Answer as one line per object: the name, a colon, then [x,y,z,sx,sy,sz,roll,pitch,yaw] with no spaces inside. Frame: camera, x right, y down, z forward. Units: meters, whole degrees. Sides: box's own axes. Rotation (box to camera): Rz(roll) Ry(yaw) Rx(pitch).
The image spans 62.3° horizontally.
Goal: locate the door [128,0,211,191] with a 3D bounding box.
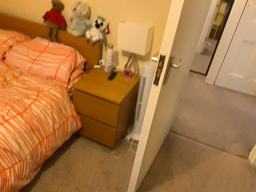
door: [0.340,-0.280,1.320,0.060,2.050,0.820,21,35,17]
